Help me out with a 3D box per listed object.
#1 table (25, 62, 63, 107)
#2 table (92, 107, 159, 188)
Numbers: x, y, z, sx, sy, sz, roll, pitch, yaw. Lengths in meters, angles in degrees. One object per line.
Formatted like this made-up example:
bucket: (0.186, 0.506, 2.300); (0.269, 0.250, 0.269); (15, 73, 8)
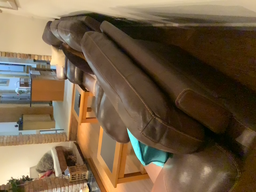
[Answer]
table: (-2.740, -0.430, 6.720); (2.070, 0.910, 0.840); (36, 120, 58)
table: (-0.070, 0.540, 2.440); (0.640, 0.450, 0.640); (32, 117, 59)
